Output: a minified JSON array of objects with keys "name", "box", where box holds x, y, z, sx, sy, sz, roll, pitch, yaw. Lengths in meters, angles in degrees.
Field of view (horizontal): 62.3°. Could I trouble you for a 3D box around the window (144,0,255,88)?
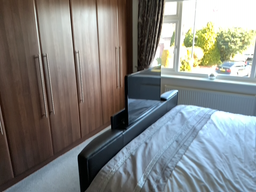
[{"name":"window","box":[1.340,-0.920,3.380,2.230,1.390,0.280,8,19,26]}]
